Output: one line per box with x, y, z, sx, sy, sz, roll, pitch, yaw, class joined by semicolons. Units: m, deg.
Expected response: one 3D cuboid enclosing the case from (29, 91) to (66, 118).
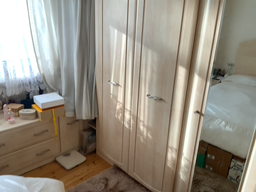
-0.840;0.080;2.220;0.260;0.160;0.260;20;26;39;case
